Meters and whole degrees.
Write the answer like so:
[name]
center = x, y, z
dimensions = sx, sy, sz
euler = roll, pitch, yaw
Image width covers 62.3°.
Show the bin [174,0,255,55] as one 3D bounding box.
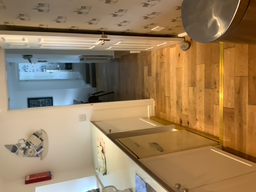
[bin]
center = 0.670, -0.470, 1.240
dimensions = 0.360, 0.700, 0.390
euler = -174, 82, -67
